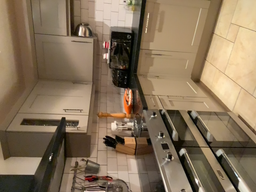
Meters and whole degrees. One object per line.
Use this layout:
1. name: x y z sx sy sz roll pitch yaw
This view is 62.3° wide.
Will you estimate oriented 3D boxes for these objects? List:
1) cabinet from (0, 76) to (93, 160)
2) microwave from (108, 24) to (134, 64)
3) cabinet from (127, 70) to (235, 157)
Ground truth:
1. cabinet: -0.850 0.180 2.480 1.180 0.800 0.340 -101 16 -60
2. microwave: -0.110 -0.710 2.880 0.410 0.280 0.390 -100 16 -57
3. cabinet: 0.510 0.180 2.500 0.820 0.920 0.640 -101 16 -60
